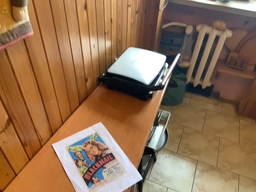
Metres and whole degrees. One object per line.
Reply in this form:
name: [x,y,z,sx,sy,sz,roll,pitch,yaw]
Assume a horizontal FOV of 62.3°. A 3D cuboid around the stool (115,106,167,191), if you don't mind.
stool: [0.080,0.360,1.430,0.210,0.450,0.320,18,44,16]
